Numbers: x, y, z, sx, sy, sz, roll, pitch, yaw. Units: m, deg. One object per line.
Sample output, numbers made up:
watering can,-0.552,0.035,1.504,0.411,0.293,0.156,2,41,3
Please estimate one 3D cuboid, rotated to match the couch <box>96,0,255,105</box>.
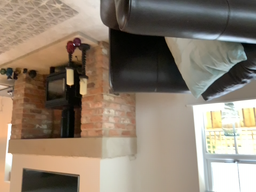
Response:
couch,0.330,-0.480,1.230,0.970,0.910,1.050,1,169,-7
